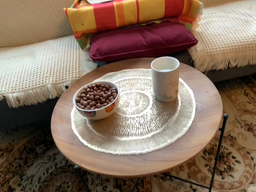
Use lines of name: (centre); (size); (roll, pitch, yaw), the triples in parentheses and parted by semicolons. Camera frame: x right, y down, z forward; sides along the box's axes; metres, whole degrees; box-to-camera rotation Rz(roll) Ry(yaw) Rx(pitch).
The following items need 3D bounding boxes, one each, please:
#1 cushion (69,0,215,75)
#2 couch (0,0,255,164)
cushion: (0.020, -0.370, 0.990); (0.520, 0.190, 0.510); (-13, 40, -3)
couch: (-0.010, -0.380, 1.160); (1.790, 0.750, 0.850); (-13, 40, -3)
